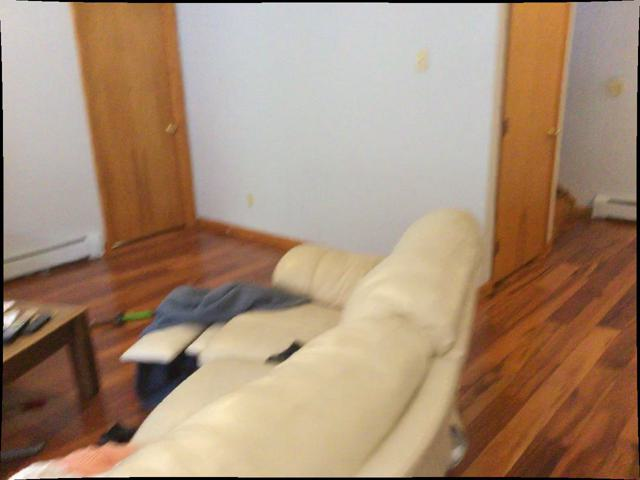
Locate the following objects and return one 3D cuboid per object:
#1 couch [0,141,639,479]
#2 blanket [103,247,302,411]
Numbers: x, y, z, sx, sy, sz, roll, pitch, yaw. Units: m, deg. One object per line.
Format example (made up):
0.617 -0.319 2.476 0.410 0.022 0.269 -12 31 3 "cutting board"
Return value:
-0.799 0.550 1.750 2.449 1.011 3.469 13 25 39 "couch"
-0.510 0.400 2.810 0.739 0.520 0.690 -1 19 6 "blanket"
